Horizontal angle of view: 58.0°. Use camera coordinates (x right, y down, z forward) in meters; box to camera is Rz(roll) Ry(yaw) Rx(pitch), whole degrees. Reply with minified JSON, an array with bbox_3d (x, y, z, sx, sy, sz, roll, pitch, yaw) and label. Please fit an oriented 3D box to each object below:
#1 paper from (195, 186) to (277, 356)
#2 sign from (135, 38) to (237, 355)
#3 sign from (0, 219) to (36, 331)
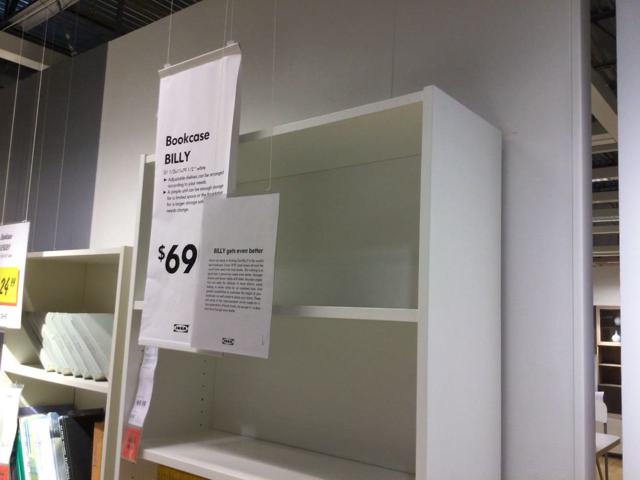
[{"bbox_3d":[-0.160,0.060,1.080,0.200,0.300,0.010,-6,-10,38],"label":"paper"},{"bbox_3d":[-0.290,-0.090,1.240,0.230,0.640,0.040,-2,-6,35],"label":"sign"},{"bbox_3d":[-0.920,0.100,1.690,0.250,0.310,0.030,-2,-7,38],"label":"sign"}]
